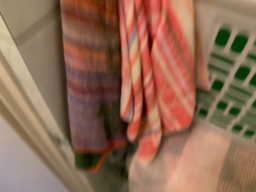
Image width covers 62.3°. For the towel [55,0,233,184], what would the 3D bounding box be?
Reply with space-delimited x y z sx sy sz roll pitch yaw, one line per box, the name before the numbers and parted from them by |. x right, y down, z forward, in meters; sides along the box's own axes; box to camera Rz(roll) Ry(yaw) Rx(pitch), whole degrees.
towel | 0.050 -0.050 0.490 0.210 0.710 0.240 24 57 16
